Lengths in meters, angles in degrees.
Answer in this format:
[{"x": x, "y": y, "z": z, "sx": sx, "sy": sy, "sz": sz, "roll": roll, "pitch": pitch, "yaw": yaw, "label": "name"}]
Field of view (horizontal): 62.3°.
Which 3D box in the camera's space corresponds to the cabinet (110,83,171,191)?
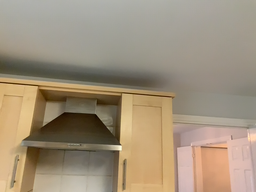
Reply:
[{"x": 0.090, "y": 0.360, "z": 1.660, "sx": 0.380, "sy": 0.830, "sz": 0.320, "roll": 5, "pitch": -17, "yaw": -10, "label": "cabinet"}]
